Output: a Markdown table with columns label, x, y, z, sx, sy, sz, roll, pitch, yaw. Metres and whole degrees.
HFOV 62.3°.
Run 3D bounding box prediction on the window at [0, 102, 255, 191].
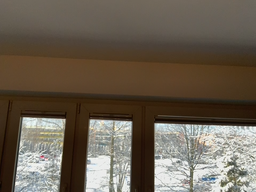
| label | x | y | z | sx | sy | sz | roll | pitch | yaw |
| --- | --- | --- | --- | --- | --- | --- | --- | --- | --- |
| window | -0.240 | 0.750 | 1.700 | 3.230 | 1.320 | 0.160 | 2 | -10 | -3 |
